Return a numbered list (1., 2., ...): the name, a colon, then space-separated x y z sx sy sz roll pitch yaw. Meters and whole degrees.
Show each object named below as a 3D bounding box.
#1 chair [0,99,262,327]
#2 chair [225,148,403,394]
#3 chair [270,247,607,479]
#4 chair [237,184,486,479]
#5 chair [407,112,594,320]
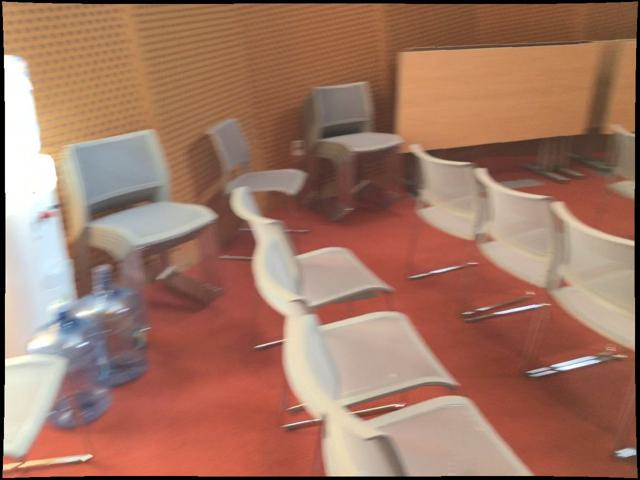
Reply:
1. chair: -0.919 -0.200 2.890 0.910 0.680 0.760 21 40 38
2. chair: -0.020 0.110 2.390 0.540 0.751 0.520 -13 31 -12
3. chair: 0.250 0.541 1.460 0.550 0.801 0.500 -13 31 -12
4. chair: 0.120 0.310 1.890 0.580 0.731 0.540 -13 31 -12
5. chair: 0.839 -0.150 2.880 0.560 0.711 0.680 -13 31 -12
